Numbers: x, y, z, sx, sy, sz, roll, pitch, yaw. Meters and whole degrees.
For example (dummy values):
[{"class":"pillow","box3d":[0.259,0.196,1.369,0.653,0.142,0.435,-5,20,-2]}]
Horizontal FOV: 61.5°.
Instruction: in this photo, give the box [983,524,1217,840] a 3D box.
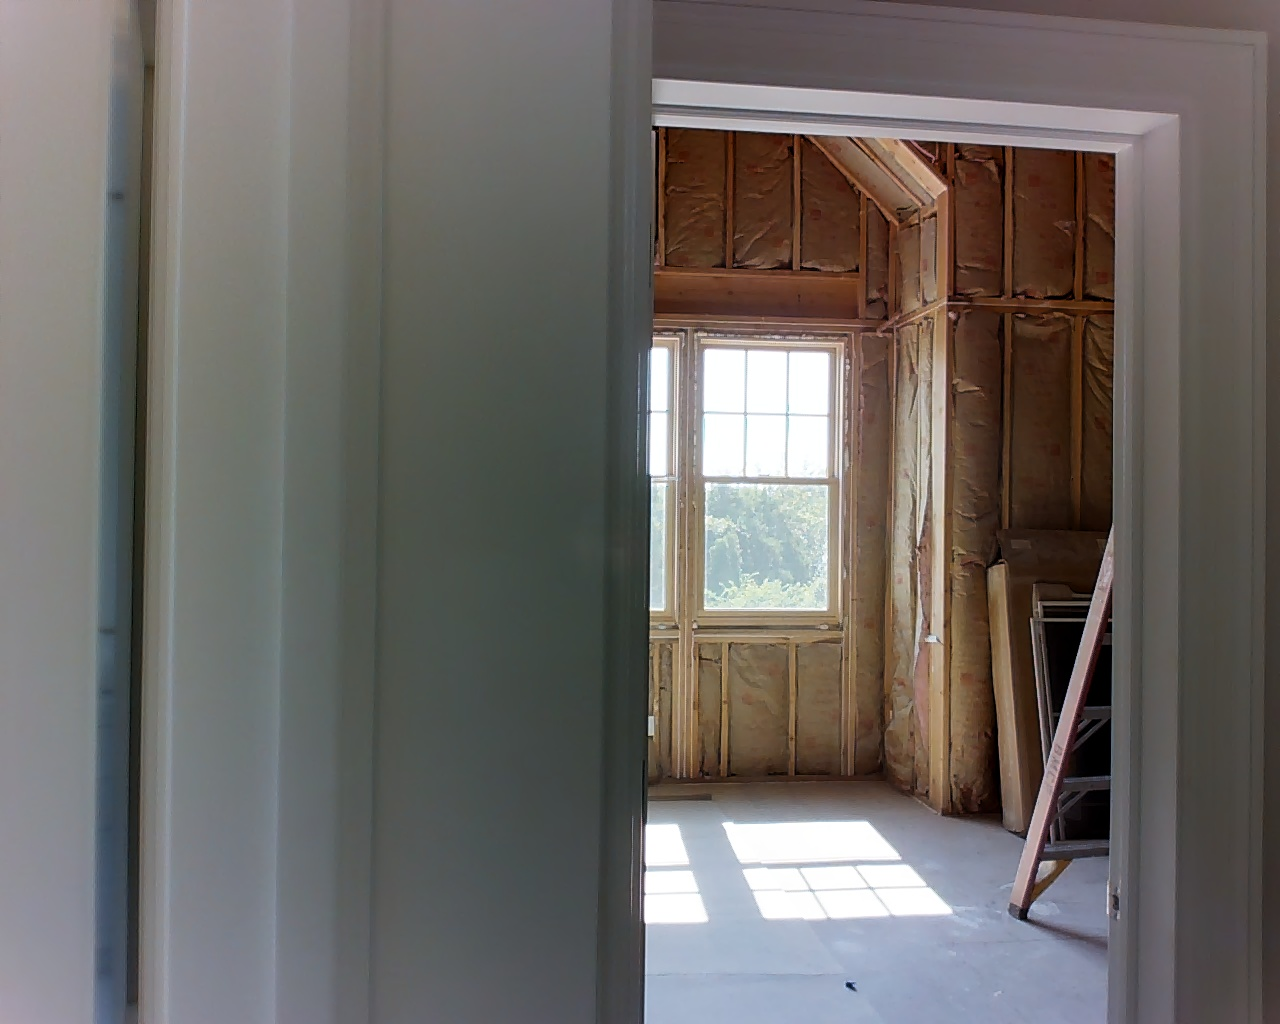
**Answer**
[{"class":"box","box3d":[2.360,0.860,5.590,0.920,1.540,0.470,1,-8,-6]}]
